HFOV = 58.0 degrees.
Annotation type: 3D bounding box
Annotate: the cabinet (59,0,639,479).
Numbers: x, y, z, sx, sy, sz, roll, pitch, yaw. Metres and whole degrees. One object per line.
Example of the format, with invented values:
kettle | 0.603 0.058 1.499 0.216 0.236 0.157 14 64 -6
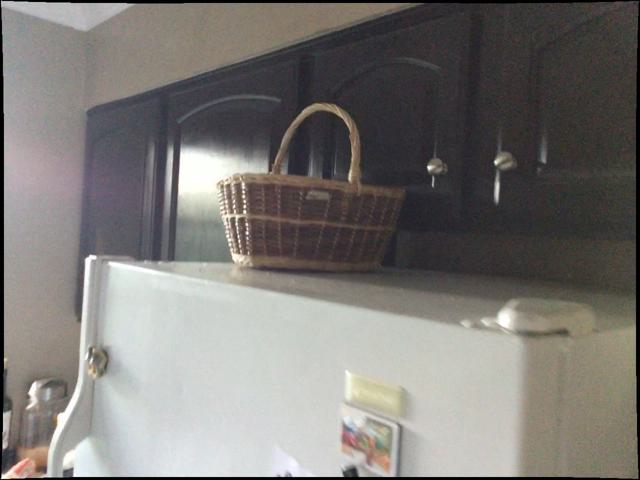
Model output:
cabinet | -0.100 -0.080 1.480 0.429 0.792 1.888 1 5 -43
